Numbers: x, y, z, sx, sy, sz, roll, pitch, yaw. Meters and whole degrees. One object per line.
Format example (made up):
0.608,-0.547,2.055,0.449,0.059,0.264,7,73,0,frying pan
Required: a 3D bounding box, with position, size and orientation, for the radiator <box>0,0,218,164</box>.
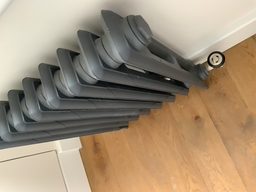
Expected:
-0.030,0.020,0.720,0.530,0.670,0.130,-30,73,26,radiator
